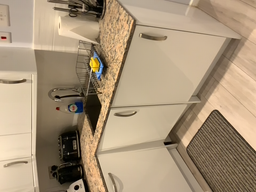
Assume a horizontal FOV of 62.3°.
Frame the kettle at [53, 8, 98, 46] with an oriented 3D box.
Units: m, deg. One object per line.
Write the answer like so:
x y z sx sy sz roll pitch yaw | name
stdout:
-0.390 -0.500 1.560 0.150 0.270 0.190 63 143 40 | kettle

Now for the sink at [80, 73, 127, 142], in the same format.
-0.250 0.090 1.940 0.460 0.230 0.410 61 142 42 | sink

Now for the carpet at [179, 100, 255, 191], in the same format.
0.870 0.790 1.490 1.480 0.020 0.630 65 145 37 | carpet
